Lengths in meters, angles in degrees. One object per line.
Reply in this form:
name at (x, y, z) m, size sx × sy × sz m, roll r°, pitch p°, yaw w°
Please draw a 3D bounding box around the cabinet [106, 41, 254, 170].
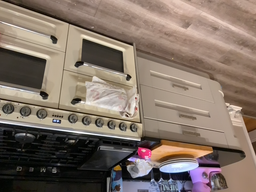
cabinet at (0.440, 0.170, 2.080) m, size 1.140 × 0.910 × 0.610 m, roll 12°, pitch 145°, yaw -26°
